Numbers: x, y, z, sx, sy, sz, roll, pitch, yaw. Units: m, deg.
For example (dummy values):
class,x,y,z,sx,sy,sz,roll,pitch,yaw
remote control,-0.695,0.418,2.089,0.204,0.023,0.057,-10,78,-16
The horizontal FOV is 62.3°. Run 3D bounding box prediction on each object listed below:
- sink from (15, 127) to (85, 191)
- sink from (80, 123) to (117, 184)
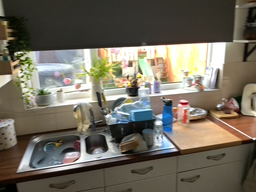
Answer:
class,x,y,z,sx,sy,sz,roll,pitch,yaw
sink,-0.530,0.440,1.530,0.380,0.170,0.550,-5,17,-14
sink,-0.240,0.400,1.600,0.200,0.160,0.550,-5,17,-14
